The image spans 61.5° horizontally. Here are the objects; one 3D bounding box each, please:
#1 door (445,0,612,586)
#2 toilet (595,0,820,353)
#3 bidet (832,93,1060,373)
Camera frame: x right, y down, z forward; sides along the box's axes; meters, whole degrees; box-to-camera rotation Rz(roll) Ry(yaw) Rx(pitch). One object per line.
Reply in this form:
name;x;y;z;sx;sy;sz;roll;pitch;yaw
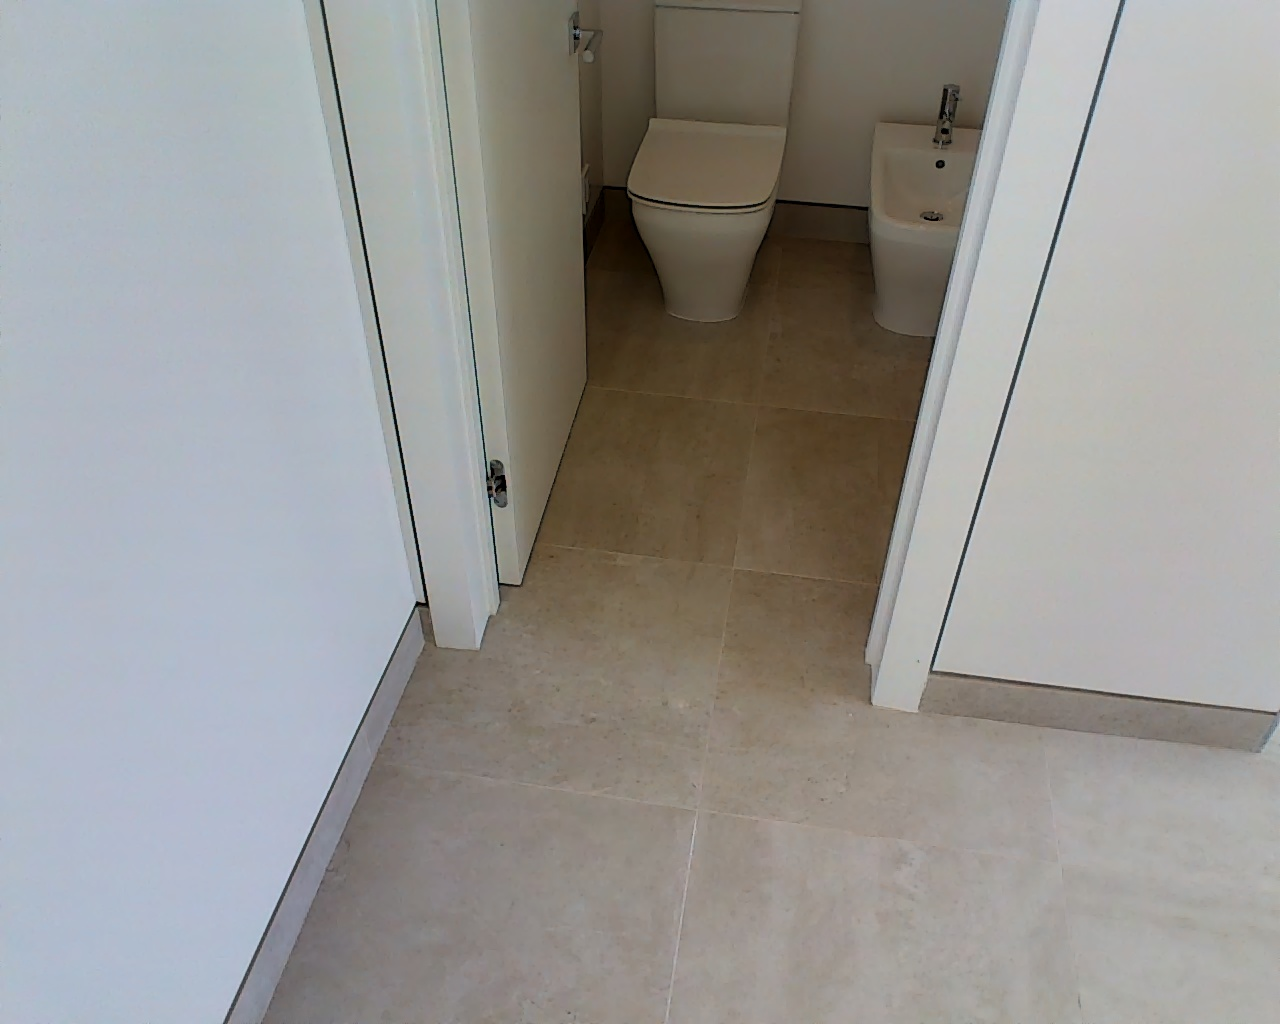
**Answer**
door;-0.160;-1.040;1.700;0.070;2.450;0.840;7;42;6
toilet;0.190;-0.960;2.900;0.480;0.730;0.720;7;42;6
bidet;0.800;-0.780;2.930;0.470;0.430;0.700;7;42;6
